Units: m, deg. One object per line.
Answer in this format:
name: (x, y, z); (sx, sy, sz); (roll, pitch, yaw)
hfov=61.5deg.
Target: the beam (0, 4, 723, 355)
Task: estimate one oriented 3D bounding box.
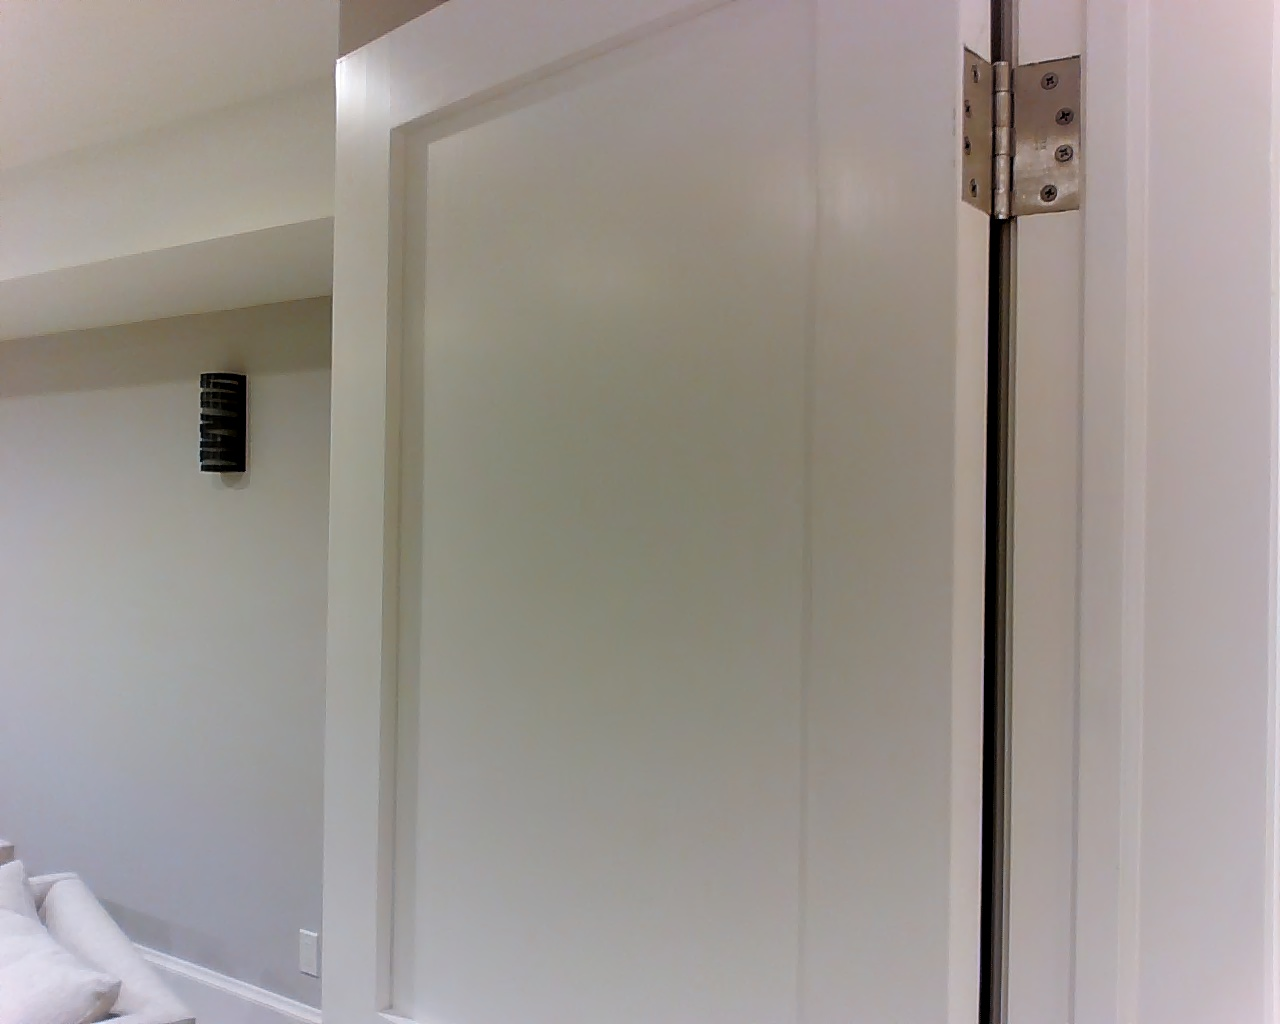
beam: (-2.360, -0.720, 3.520); (5.559, 0.320, 0.600); (0, 0, 31)
